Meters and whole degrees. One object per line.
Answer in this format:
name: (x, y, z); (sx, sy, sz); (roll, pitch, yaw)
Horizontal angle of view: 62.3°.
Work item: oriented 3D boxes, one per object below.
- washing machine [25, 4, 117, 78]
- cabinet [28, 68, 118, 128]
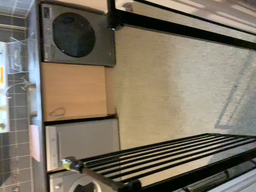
washing machine: (-0.710, -0.590, 2.620); (0.660, 0.900, 0.630); (-9, 84, 54)
cabinet: (-0.680, 0.030, 2.620); (0.580, 0.900, 0.610); (-9, 84, 54)
